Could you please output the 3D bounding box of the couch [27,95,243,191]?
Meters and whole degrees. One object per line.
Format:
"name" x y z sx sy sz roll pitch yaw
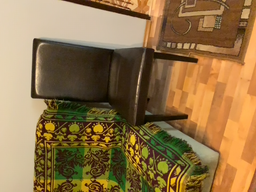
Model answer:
"couch" -0.190 1.080 1.580 1.080 0.930 1.940 30 114 56

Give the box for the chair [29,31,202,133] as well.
"chair" -0.120 -0.130 1.460 0.660 0.940 0.450 30 114 56
